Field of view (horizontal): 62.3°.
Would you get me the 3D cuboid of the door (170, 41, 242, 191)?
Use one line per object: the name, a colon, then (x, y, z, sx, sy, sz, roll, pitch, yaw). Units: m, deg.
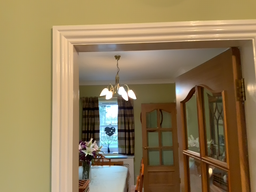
door: (0.450, 0.750, 1.290, 0.060, 1.980, 0.710, -1, -6, -9)
